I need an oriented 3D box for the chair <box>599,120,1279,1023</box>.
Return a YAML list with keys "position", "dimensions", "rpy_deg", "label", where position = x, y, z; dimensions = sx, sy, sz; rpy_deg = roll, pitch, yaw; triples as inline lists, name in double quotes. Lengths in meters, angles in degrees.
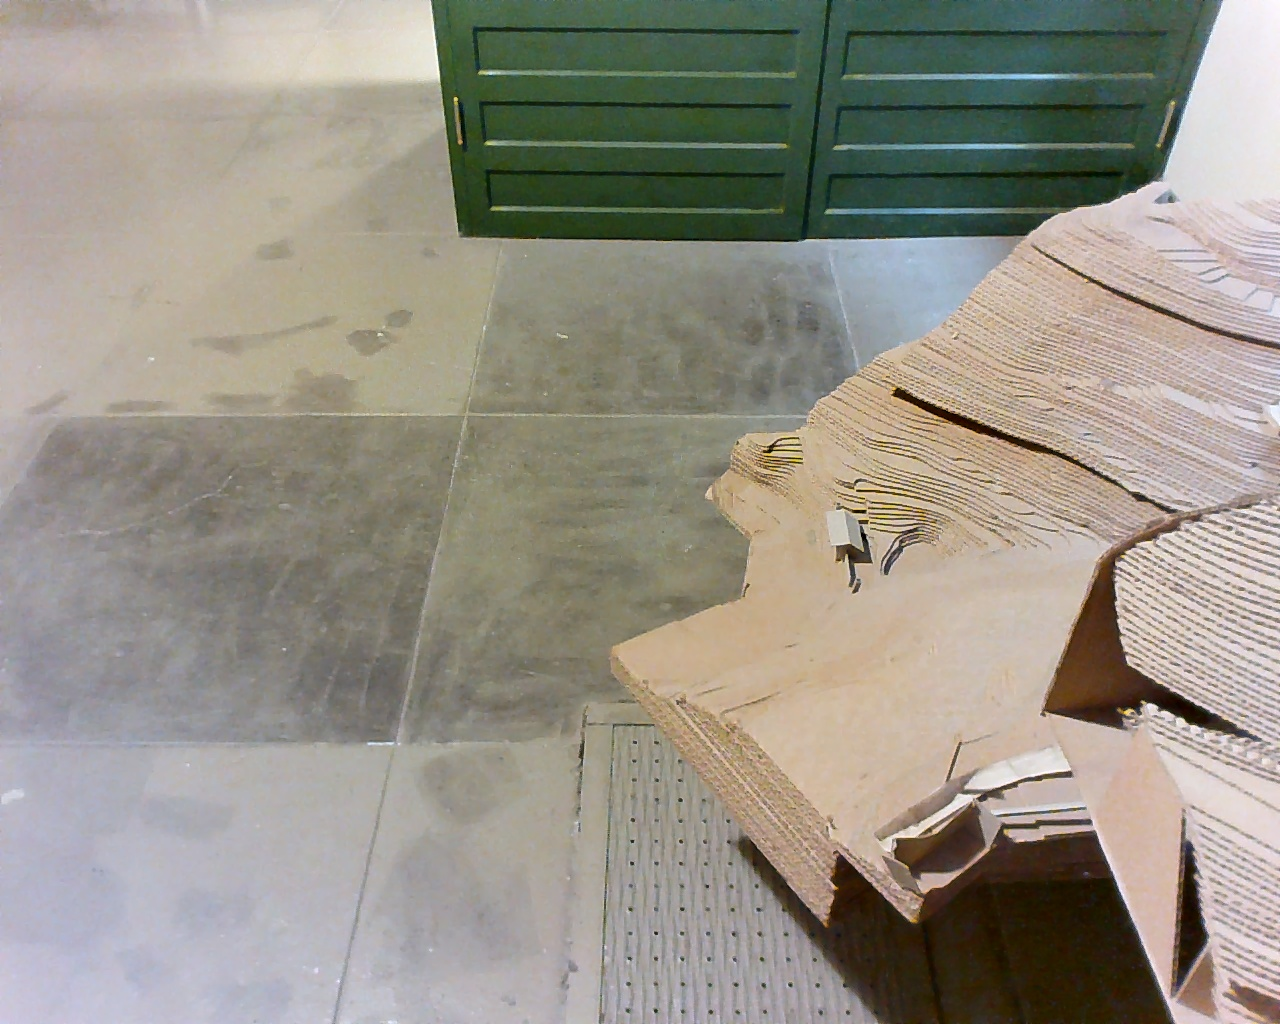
- position: [0.760, 0.090, 1.620]
  dimensions: [1.600, 0.850, 1.310]
  rpy_deg: [0, 42, -1]
  label: "chair"
